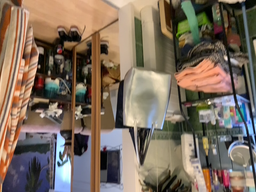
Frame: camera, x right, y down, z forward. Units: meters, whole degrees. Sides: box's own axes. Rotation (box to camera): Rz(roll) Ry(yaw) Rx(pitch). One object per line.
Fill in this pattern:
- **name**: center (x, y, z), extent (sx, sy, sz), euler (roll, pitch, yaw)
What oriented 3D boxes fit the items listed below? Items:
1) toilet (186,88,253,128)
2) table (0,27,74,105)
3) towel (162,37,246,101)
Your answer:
- **toilet**: center (0.760, 0.120, 1.760), extent (0.410, 0.240, 0.370), euler (-11, 164, 36)
- **table**: center (-1.080, -0.300, 2.510), extent (0.740, 0.680, 0.370), euler (11, 162, -43)
- **towel**: center (0.620, -0.170, 1.710), extent (0.400, 0.290, 0.600), euler (-14, 162, 42)
